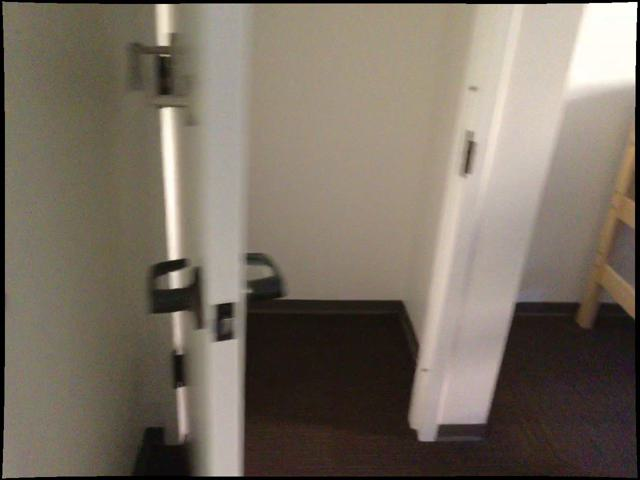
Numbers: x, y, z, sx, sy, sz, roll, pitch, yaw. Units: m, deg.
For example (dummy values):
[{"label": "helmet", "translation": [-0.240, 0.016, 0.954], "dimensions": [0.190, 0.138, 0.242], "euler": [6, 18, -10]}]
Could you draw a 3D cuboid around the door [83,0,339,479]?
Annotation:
[{"label": "door", "translation": [-0.309, -0.040, 1.190], "dimensions": [0.220, 1.824, 1.090], "euler": [-7, 28, -21]}]
